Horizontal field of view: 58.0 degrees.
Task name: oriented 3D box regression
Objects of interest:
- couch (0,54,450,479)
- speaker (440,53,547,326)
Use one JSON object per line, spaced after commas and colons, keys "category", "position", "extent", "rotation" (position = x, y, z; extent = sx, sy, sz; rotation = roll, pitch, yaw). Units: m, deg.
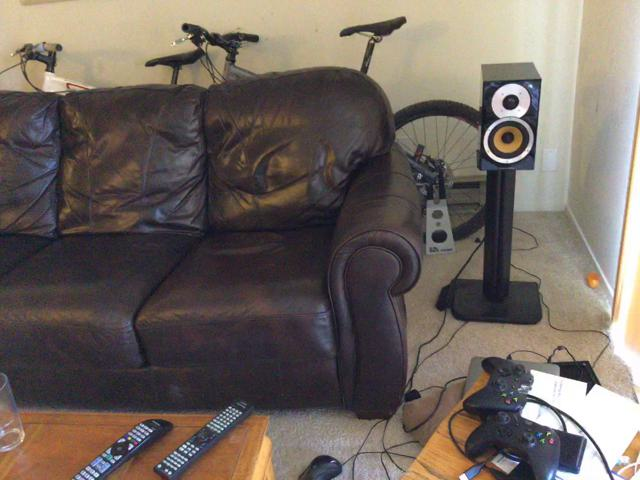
{"category": "couch", "position": [-0.720, -0.010, 1.970], "extent": [2.070, 1.030, 0.980], "rotation": [3, 26, 4]}
{"category": "speaker", "position": [0.610, -0.160, 2.040], "extent": [0.300, 0.870, 0.360], "rotation": [-1, 28, 16]}
